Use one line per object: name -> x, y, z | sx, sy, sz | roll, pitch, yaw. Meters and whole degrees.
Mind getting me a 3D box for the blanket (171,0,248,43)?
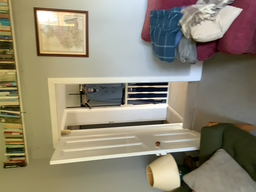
blanket -> 0.610, -0.640, 1.670 | 0.480, 0.330, 0.390 | -123, 33, -67
